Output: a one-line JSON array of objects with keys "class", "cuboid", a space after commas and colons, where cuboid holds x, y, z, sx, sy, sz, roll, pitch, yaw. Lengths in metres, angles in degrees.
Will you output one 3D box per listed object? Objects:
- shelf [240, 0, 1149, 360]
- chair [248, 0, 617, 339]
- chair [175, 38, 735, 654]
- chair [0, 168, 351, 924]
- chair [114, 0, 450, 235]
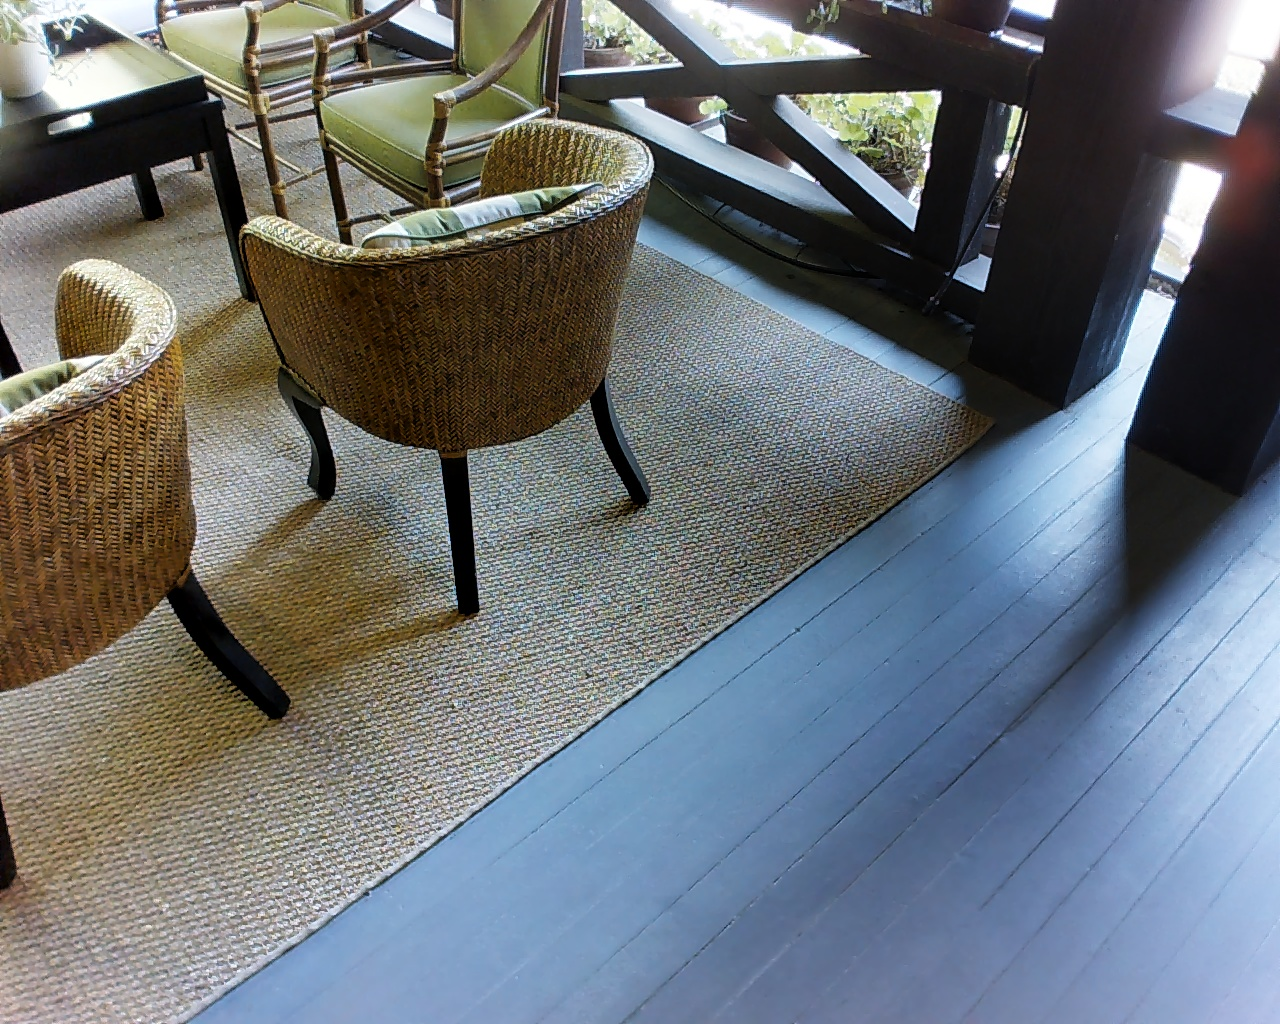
[{"class": "shelf", "cuboid": [-0.310, -1.790, 3.710, 0.600, 0.790, 3.850, -31, 52, -31]}, {"class": "chair", "cuboid": [-0.530, -1.110, 2.850, 0.630, 0.920, 0.700, -32, 52, -31]}, {"class": "chair", "cuboid": [-0.320, -0.350, 2.110, 0.660, 0.800, 0.690, 34, 52, 31]}, {"class": "chair", "cuboid": [-0.990, 0.050, 1.670, 0.690, 0.790, 0.650, -32, 52, -31]}, {"class": "chair", "cuboid": [-1.130, -1.530, 3.290, 0.630, 0.950, 0.820, -32, 52, -31]}]
